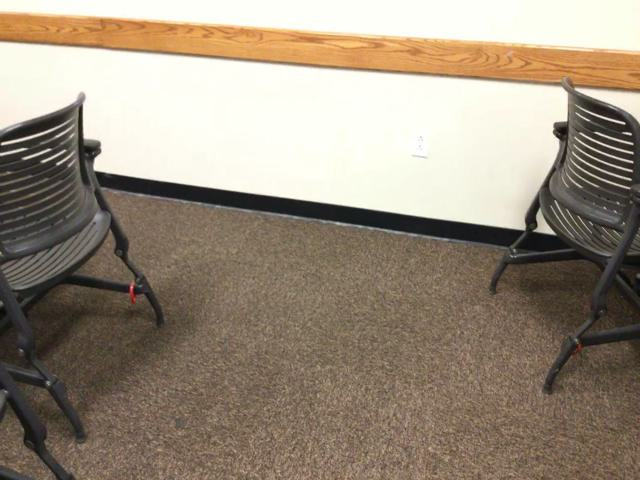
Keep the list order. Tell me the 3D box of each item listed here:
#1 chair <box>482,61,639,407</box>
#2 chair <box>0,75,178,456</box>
[{"bbox_3d":[0.900,-0.050,1.770,0.610,0.820,0.650,10,27,16],"label":"chair"},{"bbox_3d":[-0.850,0.030,1.680,0.580,0.860,0.600,8,27,11],"label":"chair"}]
